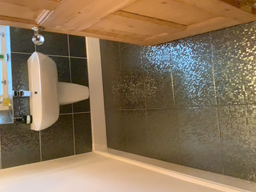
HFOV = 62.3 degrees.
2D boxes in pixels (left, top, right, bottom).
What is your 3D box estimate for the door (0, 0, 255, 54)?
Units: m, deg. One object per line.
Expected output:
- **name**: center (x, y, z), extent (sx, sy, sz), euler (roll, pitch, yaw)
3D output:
- **door**: center (-0.330, -0.380, 0.760), extent (0.760, 2.040, 0.100), euler (-8, 85, 54)
